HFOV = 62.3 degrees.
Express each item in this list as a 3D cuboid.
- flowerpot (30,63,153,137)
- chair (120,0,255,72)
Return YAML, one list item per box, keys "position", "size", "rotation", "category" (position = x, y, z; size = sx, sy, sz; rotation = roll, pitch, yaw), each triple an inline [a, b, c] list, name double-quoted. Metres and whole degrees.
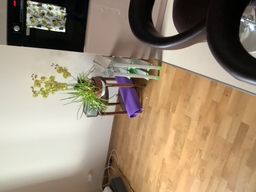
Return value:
- position: [-0.410, 0.000, 2.330]
  size: [0.640, 1.110, 0.490]
  rotation: [39, 123, 50]
  category: "flowerpot"
- position: [0.490, -0.460, 1.250]
  size: [0.510, 0.870, 0.500]
  rotation: [35, 120, 51]
  category: "chair"
